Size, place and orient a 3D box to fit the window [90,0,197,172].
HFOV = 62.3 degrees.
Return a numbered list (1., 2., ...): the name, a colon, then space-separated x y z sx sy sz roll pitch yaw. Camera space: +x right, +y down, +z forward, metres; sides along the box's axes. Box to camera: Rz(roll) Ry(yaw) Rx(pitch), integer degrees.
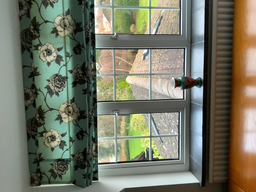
1. window: 0.130 -0.220 1.740 0.120 0.820 1.660 -133 42 -80
